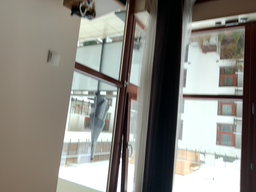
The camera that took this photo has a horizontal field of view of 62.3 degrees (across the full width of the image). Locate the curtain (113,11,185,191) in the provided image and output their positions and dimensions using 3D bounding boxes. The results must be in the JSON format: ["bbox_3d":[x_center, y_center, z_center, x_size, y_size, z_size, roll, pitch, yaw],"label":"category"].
[{"bbox_3d":[0.230,0.200,2.460,0.490,2.150,0.540,8,172,-13],"label":"curtain"}]
